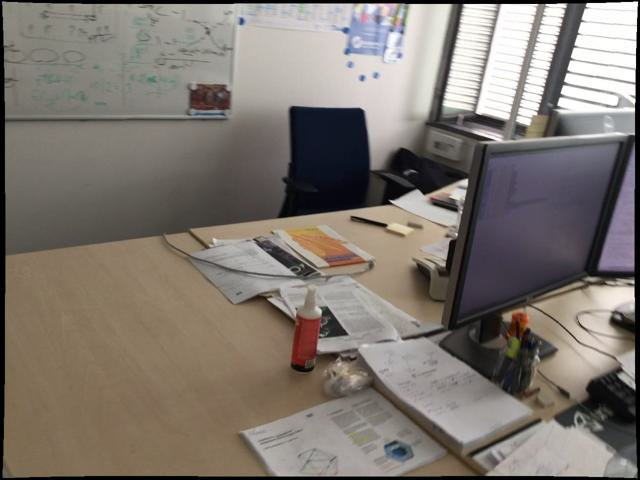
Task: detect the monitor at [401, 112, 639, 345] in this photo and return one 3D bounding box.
[{"bbox_3d":[0.559,-0.070,1.290,0.829,0.380,0.140,-11,29,-35],"label":"monitor"}]
